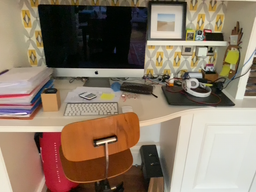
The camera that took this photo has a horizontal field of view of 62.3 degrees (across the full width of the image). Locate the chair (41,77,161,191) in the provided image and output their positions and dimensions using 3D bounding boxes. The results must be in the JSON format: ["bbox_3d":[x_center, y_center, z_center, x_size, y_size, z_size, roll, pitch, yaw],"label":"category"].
[{"bbox_3d":[-0.200,0.420,1.320,0.490,0.890,0.570,-8,27,-22],"label":"chair"}]

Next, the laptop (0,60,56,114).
[{"bbox_3d":[-0.580,-0.070,1.210,0.210,0.150,0.440,1,25,-4],"label":"laptop"}]
